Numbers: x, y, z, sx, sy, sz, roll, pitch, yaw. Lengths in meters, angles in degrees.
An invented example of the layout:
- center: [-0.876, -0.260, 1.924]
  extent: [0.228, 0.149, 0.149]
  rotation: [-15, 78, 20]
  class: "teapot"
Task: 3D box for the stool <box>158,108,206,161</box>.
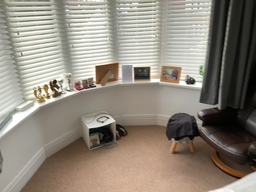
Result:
- center: [0.600, 0.430, 2.440]
  extent: [0.360, 0.400, 0.360]
  rotation: [-12, 26, -23]
  class: "stool"
